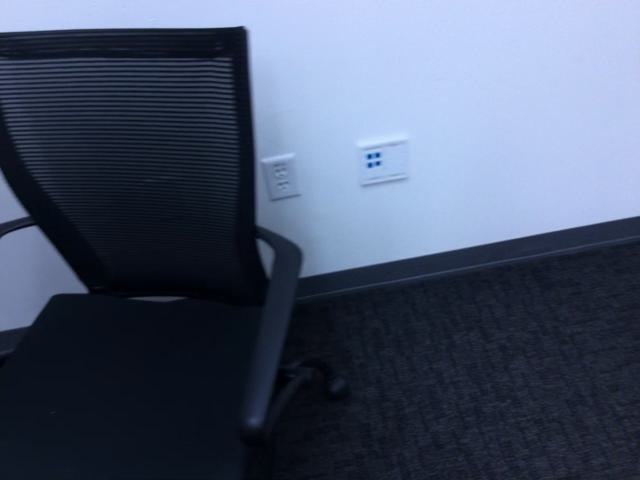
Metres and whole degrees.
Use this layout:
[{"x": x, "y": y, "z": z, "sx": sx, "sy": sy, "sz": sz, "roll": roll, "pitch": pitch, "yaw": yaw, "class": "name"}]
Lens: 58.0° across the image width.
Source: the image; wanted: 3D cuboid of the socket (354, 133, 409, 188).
[{"x": 0.140, "y": -0.180, "z": 1.320, "sx": 0.120, "sy": 0.120, "sz": 0.020, "roll": -7, "pitch": 43, "yaw": -1, "class": "socket"}]

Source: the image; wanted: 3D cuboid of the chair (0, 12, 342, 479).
[{"x": -0.330, "y": 0.190, "z": 1.010, "sx": 0.630, "sy": 0.950, "sz": 0.540, "roll": 2, "pitch": 43, "yaw": 9, "class": "chair"}]
